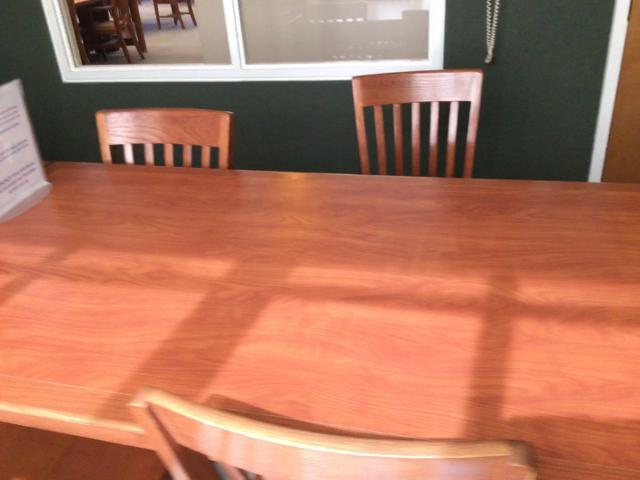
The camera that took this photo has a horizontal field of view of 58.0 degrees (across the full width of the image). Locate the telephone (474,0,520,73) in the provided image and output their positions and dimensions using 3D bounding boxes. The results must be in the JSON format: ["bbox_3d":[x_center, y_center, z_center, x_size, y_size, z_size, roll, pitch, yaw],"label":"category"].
[{"bbox_3d":[0.690,-0.940,2.220,0.150,0.570,0.090,4,30,14],"label":"telephone"}]

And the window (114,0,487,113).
[{"bbox_3d":[-0.120,-1.170,2.400,1.600,1.210,0.230,4,30,14],"label":"window"}]
